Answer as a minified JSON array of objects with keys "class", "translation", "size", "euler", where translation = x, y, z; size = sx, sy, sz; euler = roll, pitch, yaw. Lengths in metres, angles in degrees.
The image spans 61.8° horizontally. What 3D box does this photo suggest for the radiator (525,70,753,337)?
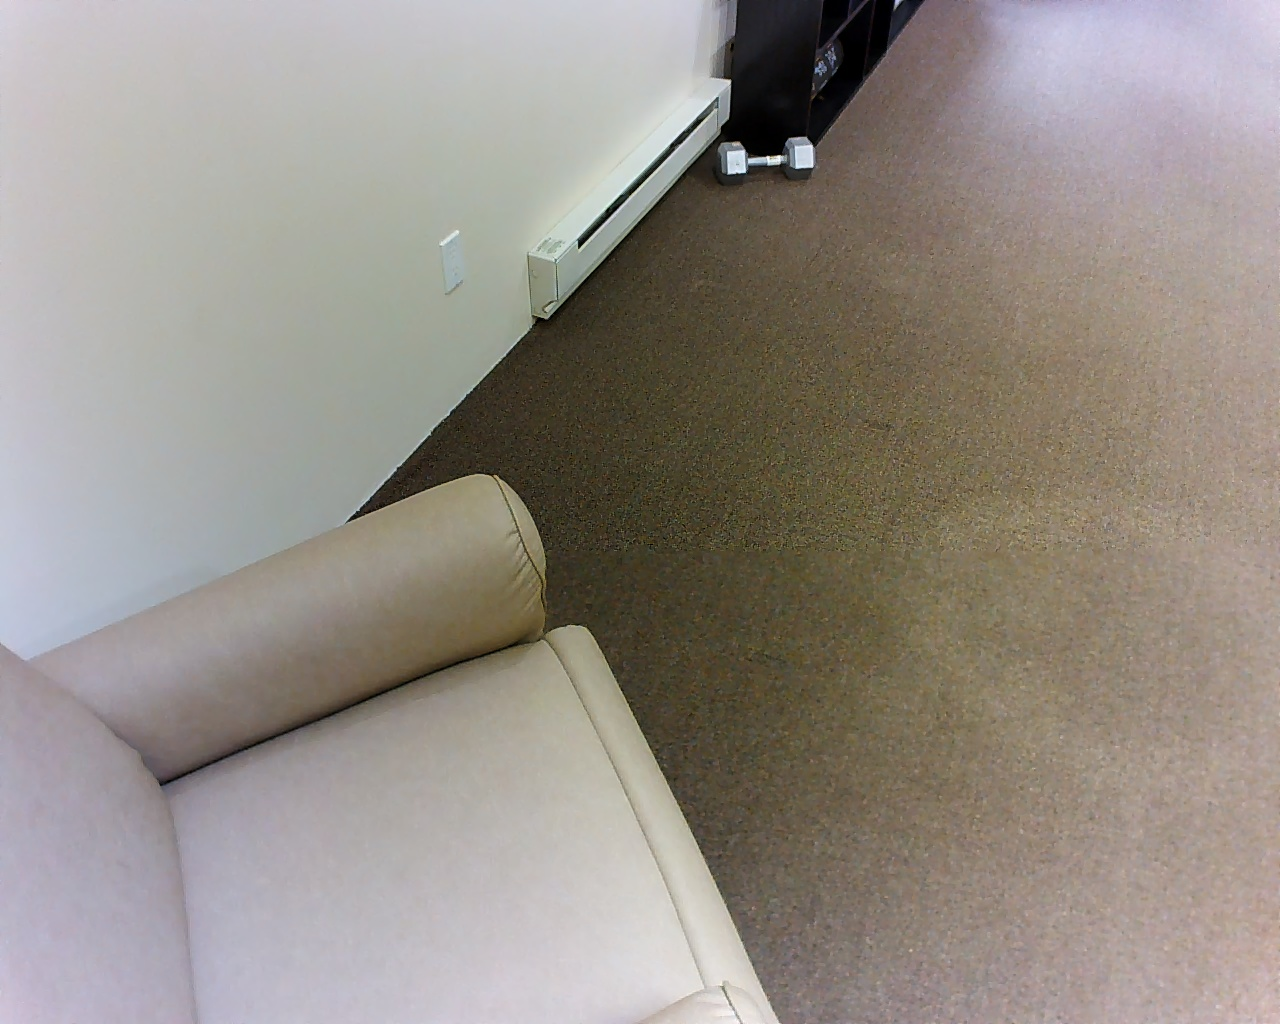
[{"class":"radiator","translation":[0.040,-0.900,2.960],"size":[0.110,0.200,1.260],"euler":[17,45,17]}]
